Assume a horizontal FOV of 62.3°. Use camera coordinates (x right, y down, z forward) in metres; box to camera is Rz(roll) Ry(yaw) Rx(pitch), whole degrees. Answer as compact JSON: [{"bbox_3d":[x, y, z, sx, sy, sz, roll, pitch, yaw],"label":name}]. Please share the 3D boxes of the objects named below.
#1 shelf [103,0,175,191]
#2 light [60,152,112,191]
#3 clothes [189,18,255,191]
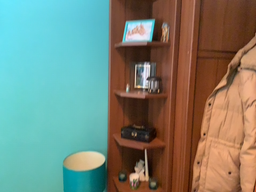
[{"bbox_3d":[0.040,0.160,1.460,0.330,2.340,0.370,-2,8,-20],"label":"shelf"},{"bbox_3d":[-0.300,0.750,1.480,0.310,0.620,0.260,-1,8,-19],"label":"light"},{"bbox_3d":[0.730,0.140,1.150,0.630,0.960,0.340,-1,8,-17],"label":"clothes"}]
